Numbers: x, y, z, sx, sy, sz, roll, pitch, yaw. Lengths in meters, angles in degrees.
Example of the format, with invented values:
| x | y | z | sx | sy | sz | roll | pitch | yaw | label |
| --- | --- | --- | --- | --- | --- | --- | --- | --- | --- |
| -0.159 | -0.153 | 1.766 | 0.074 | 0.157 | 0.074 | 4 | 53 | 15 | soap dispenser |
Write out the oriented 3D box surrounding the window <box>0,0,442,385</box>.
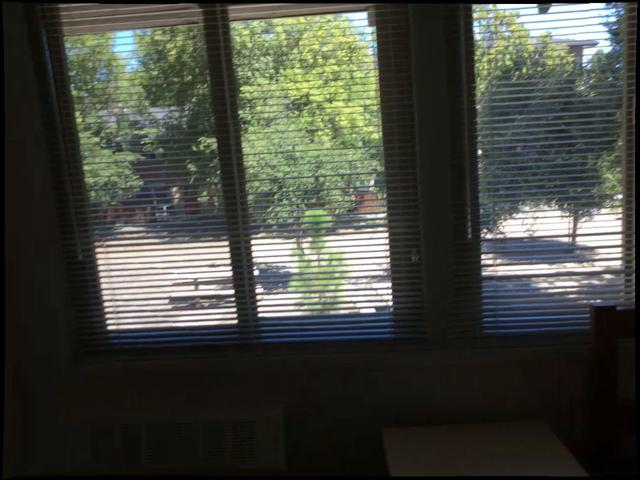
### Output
| x | y | z | sx | sy | sz | roll | pitch | yaw | label |
| --- | --- | --- | --- | --- | --- | --- | --- | --- | --- |
| -0.269 | -0.170 | 1.810 | 1.217 | 1.173 | 0.250 | -4 | 12 | 5 | window |

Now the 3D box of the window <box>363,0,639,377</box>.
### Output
| x | y | z | sx | sy | sz | roll | pitch | yaw | label |
| --- | --- | --- | --- | --- | --- | --- | --- | --- | --- |
| 0.868 | -0.211 | 1.760 | 1.396 | 1.163 | 0.260 | -4 | 12 | 5 | window |
